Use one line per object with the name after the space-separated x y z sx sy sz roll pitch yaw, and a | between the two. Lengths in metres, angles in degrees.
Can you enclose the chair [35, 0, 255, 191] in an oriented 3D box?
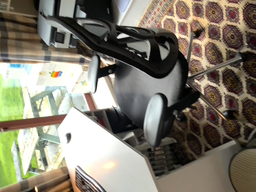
0.120 -0.050 1.180 0.580 1.000 0.610 47 128 38 | chair
